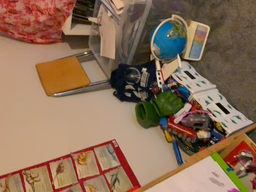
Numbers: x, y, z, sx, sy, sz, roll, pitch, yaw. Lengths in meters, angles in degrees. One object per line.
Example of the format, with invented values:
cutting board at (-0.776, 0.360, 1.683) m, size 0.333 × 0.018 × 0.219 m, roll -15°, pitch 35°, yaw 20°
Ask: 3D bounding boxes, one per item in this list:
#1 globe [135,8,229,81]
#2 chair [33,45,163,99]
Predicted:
globe at (0.360, -0.370, 1.490) m, size 0.380 × 0.420 × 0.300 m, roll 57°, pitch 142°, yaw 31°
chair at (-0.220, -0.250, 1.800) m, size 0.450 × 1.000 × 0.090 m, roll 55°, pitch 142°, yaw 33°
